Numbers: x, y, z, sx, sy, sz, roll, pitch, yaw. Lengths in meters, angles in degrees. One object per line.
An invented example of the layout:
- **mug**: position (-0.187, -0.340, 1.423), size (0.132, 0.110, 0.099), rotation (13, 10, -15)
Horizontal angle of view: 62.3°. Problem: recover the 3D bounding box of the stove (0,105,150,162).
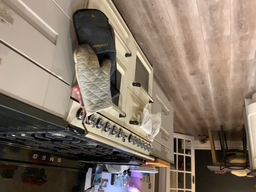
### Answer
- **stove**: position (-0.320, 0.320, 1.450), size (0.640, 0.150, 1.100), rotation (-5, 158, 23)
